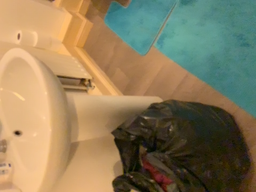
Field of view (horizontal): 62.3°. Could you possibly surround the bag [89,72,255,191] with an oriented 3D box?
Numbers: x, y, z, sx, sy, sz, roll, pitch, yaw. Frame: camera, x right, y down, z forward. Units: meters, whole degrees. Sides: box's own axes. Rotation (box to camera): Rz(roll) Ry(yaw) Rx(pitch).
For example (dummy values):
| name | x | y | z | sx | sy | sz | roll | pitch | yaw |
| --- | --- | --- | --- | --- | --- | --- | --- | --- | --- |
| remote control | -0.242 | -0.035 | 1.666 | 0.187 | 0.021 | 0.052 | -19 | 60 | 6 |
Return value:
| name | x | y | z | sx | sy | sz | roll | pitch | yaw |
| --- | --- | --- | --- | --- | --- | --- | --- | --- | --- |
| bag | 0.220 | 0.250 | 0.990 | 0.520 | 0.460 | 0.460 | 48 | 118 | 31 |
